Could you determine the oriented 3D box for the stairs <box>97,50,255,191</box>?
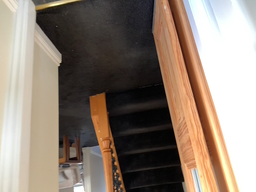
[{"bbox_3d":[0.440,1.840,2.750,1.060,4.570,1.240,-3,-149,0],"label":"stairs"}]

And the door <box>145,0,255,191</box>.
[{"bbox_3d":[0.330,0.350,0.950,0.110,0.580,1.870,-6,-111,-7],"label":"door"}]
